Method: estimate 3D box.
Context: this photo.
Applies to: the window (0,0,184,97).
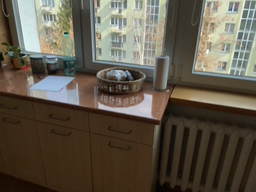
[{"bbox_3d":[-0.390,-0.690,1.580,1.550,1.170,0.210,9,24,17],"label":"window"}]
